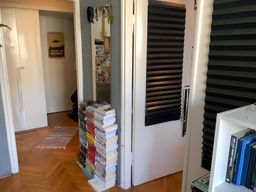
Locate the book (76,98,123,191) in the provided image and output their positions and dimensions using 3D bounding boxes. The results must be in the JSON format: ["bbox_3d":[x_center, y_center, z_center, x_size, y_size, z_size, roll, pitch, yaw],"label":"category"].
[{"bbox_3d":[-0.350,0.510,2.430,0.210,0.830,0.730,-8,16,-34],"label":"book"}]
